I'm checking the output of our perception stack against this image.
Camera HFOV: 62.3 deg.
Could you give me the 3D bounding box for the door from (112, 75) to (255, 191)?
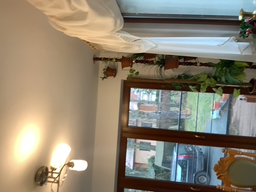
[{"bbox_3d":[0.940,1.440,3.220,0.220,2.360,3.370,-30,-56,-83],"label":"door"}]
